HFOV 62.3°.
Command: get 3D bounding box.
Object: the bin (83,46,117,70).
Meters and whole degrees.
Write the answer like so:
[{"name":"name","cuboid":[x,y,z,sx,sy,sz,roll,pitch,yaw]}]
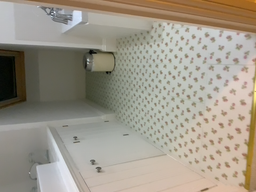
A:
[{"name":"bin","cuboid":[-0.310,-0.410,2.320,0.200,0.320,0.230,11,102,62]}]
